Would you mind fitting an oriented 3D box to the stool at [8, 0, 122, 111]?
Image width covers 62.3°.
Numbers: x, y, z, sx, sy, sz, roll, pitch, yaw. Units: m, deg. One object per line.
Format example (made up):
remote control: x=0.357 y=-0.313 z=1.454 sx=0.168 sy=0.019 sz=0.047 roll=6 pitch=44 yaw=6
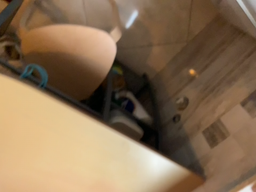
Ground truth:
stool: x=-0.270 y=-0.250 z=1.040 sx=0.290 sy=0.470 sz=0.340 roll=-29 pitch=126 yaw=10
